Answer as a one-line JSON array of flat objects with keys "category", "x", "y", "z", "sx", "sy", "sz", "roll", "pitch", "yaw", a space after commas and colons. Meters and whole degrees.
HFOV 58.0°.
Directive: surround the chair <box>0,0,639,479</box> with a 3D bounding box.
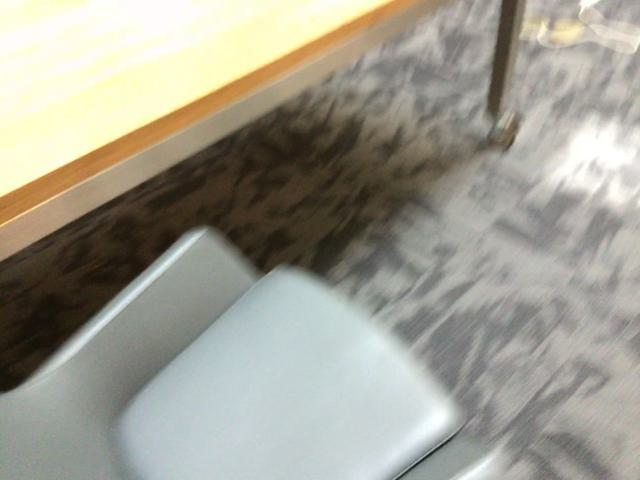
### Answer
[{"category": "chair", "x": -0.210, "y": 0.230, "z": 0.840, "sx": 0.780, "sy": 0.950, "sz": 0.790, "roll": -27, "pitch": 48, "yaw": -19}]
